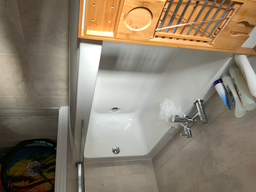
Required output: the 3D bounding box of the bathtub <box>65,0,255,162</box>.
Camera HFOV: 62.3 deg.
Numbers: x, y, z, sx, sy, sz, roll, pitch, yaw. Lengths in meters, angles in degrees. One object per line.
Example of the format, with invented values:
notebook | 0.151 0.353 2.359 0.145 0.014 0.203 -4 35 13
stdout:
bathtub | 0.010 -0.160 1.280 0.730 0.550 1.670 1 146 -16
